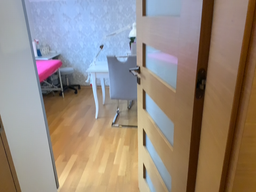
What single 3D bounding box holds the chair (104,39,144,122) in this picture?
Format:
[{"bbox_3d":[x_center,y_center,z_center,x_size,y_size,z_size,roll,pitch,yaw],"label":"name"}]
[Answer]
[{"bbox_3d":[-0.030,-0.230,2.940,0.420,1.020,0.500,3,22,11],"label":"chair"}]
